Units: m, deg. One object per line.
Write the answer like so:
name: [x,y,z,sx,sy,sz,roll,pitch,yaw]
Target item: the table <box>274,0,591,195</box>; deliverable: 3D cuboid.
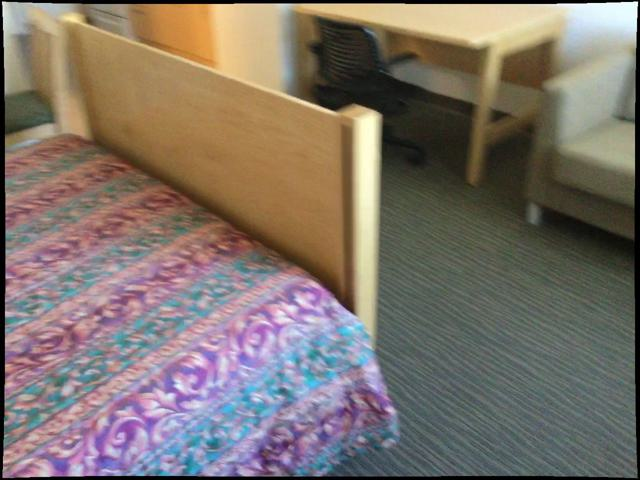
table: [0.549,-0.991,3.240,0.930,0.740,1.380,-27,41,-29]
